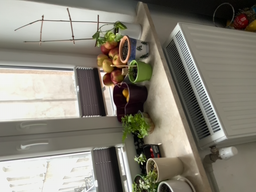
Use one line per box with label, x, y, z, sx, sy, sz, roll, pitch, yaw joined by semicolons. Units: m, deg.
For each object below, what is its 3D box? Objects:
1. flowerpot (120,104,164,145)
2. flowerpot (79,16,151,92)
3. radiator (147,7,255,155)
flowerpot;0.070;0.160;1.170;0.190;0.140;0.170;137;128;-57
flowerpot;-0.100;-0.230;1.280;0.310;0.300;0.300;131;133;-54
radiator;0.560;-0.080;1.130;0.240;0.770;0.640;131;133;-54
